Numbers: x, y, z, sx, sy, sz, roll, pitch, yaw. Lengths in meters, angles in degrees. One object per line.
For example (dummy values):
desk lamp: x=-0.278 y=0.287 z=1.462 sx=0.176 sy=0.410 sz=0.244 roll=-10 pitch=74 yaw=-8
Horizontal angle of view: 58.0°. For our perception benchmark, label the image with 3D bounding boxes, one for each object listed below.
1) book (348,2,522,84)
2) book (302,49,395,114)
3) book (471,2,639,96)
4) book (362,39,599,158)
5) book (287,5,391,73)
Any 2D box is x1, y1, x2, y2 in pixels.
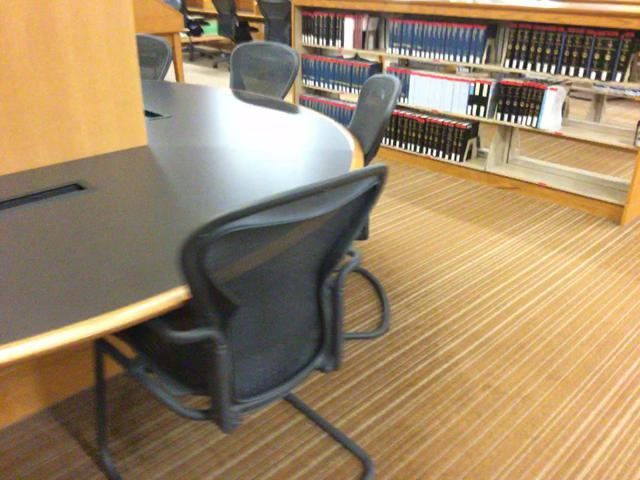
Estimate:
book: x=0.730 y=-1.370 z=3.940 sx=1.200 sy=0.350 sz=0.230 roll=26 pitch=36 yaw=37
book: x=0.210 y=-1.260 z=4.540 sx=0.640 sy=0.340 sz=0.340 roll=26 pitch=36 yaw=37
book: x=1.370 y=-1.110 z=3.290 sx=0.920 sy=0.350 sz=0.310 roll=26 pitch=36 yaw=37
book: x=1.010 y=-1.010 z=3.920 sx=1.470 sy=0.440 sz=0.450 roll=26 pitch=36 yaw=37
book: x=0.130 y=-1.550 z=4.420 sx=0.750 sy=0.370 sz=0.330 roll=26 pitch=36 yaw=37
